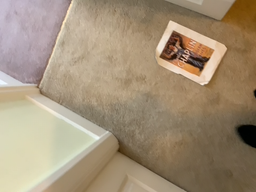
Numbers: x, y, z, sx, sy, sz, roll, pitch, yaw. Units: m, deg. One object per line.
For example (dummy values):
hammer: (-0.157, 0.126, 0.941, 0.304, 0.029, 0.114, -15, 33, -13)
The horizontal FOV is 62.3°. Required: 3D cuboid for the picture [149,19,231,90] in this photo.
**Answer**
picture: (0.290, -0.200, 1.030, 0.310, 0.040, 0.220, 28, 100, 9)
